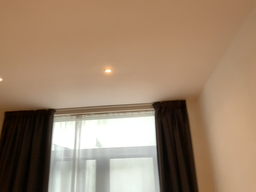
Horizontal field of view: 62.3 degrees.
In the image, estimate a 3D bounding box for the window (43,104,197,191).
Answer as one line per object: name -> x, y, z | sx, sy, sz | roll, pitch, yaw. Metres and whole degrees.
window -> -0.120, 1.380, 2.200 | 1.700, 2.500, 0.170 | -7, -23, 12
